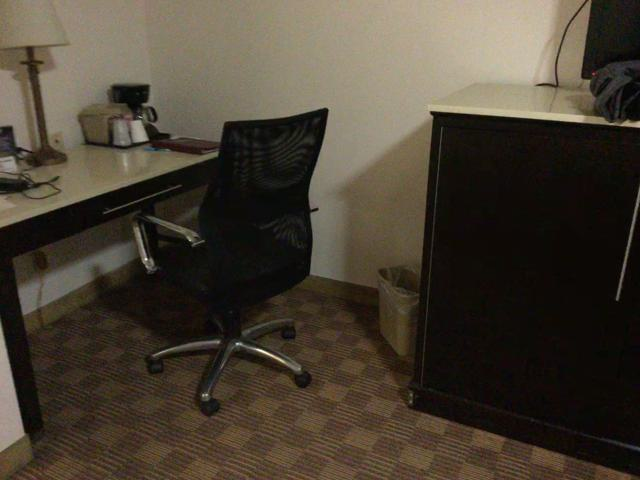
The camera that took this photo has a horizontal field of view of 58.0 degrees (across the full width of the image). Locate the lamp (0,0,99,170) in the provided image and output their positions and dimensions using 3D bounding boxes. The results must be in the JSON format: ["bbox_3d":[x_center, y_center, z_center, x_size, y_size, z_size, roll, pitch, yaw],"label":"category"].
[{"bbox_3d":[-1.100,-0.630,2.190,0.340,0.670,0.240,9,21,26],"label":"lamp"}]
